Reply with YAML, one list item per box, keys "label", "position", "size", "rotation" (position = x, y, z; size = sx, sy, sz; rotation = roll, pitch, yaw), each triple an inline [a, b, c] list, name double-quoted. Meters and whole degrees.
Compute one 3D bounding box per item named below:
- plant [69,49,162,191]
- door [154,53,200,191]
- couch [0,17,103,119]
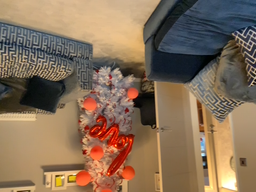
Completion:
- label: "plant"
  position: [-0.230, 0.560, 3.100]
  size: [1.040, 2.110, 0.920]
  rotation: [4, 168, -23]
- label: "door"
  position: [0.680, 0.460, 2.880]
  size: [0.820, 2.000, 0.040]
  rotation: [9, 165, -41]
- label: "couch"
  position: [-1.220, -0.200, 2.460]
  size: [1.460, 0.760, 1.200]
  rotation: [7, 166, -33]
